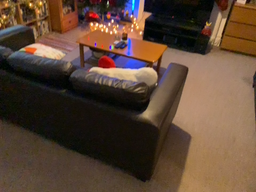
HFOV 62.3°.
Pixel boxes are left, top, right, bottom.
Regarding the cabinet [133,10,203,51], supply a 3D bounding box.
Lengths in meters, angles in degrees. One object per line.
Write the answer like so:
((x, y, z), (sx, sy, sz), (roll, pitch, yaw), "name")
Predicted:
((0.680, -1.140, 3.650), (1.090, 0.390, 0.390), (15, 37, 12), "cabinet")

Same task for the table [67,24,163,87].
((-0.160, -0.560, 2.750), (1.070, 0.390, 0.530), (17, 38, 16), "table")
